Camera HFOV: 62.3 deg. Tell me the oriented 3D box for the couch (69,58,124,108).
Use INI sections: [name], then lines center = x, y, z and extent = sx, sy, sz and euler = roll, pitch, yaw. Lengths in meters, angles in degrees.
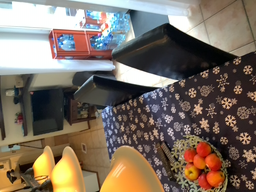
[couch]
center = -0.500, -0.190, 3.230
extent = 0.620, 0.550, 0.620
euler = -15, 84, 57
